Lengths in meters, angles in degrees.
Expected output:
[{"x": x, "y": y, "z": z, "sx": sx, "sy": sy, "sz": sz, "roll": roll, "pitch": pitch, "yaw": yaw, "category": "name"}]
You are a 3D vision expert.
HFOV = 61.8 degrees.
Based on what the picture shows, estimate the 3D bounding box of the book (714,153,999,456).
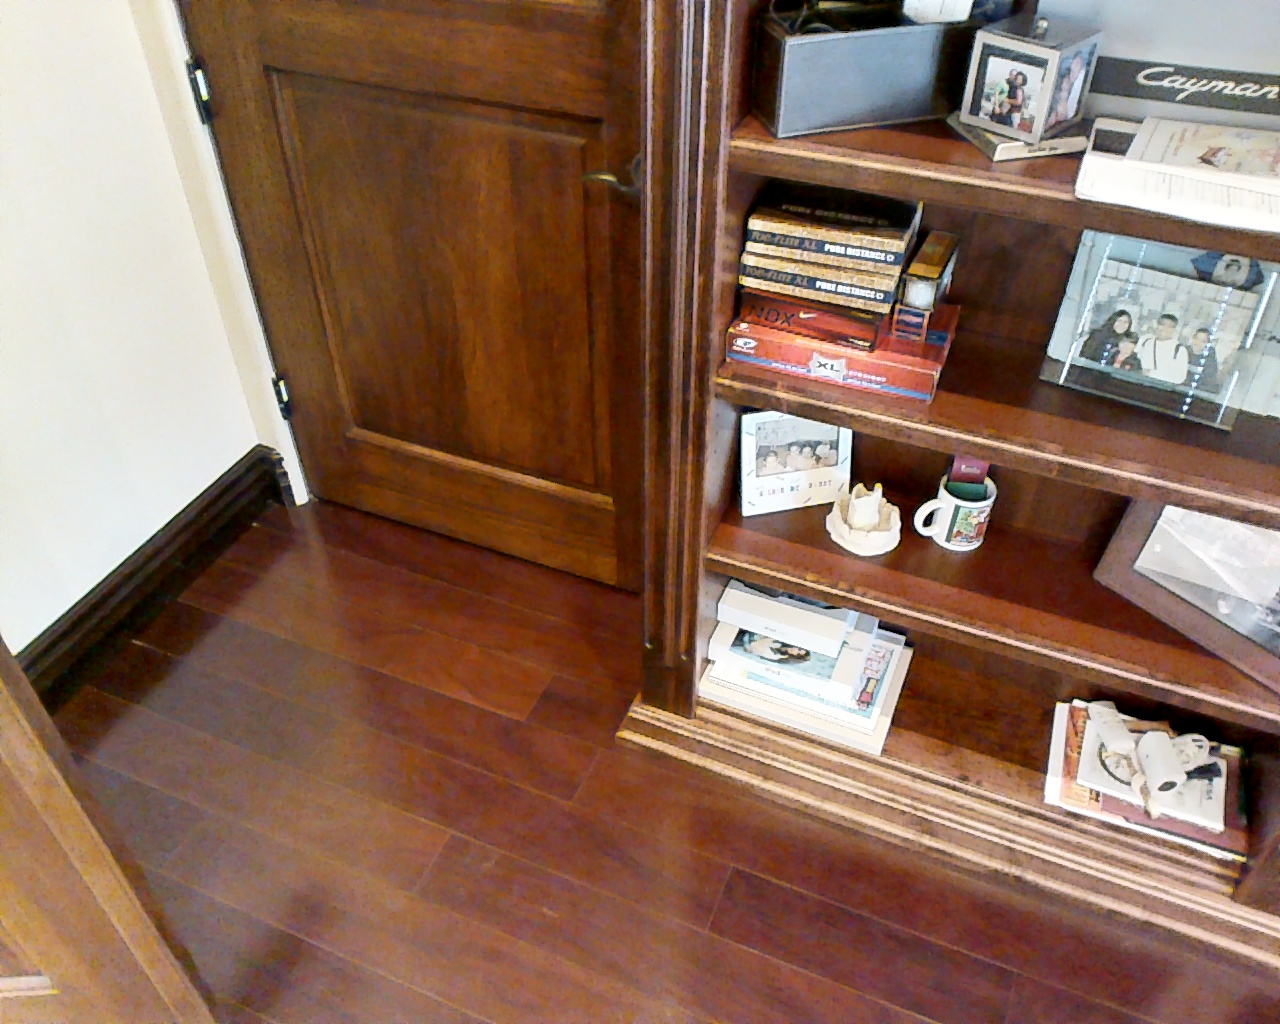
[{"x": 0.270, "y": -0.270, "z": 1.360, "sx": 0.280, "sy": 0.250, "sz": 0.240, "roll": 14, "pitch": 43, "yaw": 17, "category": "book"}]

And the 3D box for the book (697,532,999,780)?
[{"x": 0.340, "y": 0.230, "z": 1.780, "sx": 0.430, "sy": 0.190, "sz": 0.240, "roll": 14, "pitch": 43, "yaw": 17, "category": "book"}]

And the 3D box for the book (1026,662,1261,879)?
[{"x": 0.790, "y": 0.400, "z": 1.690, "sx": 0.300, "sy": 0.110, "sz": 0.240, "roll": 14, "pitch": 43, "yaw": 16, "category": "book"}]
